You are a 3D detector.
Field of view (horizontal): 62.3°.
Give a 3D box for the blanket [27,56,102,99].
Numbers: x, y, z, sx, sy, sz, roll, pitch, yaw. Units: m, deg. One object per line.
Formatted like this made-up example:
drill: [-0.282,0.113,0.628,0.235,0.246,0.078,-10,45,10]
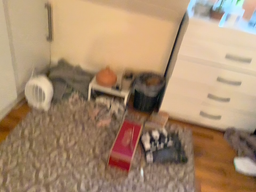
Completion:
blanket: [-0.550,-0.180,1.820,0.550,0.150,0.390,-5,39,-23]
